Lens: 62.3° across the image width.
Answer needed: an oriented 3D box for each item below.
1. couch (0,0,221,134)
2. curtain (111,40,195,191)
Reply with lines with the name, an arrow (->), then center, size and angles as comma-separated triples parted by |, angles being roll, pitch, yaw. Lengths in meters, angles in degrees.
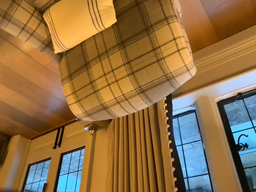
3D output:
couch -> -0.210, -0.490, 1.120 | 0.880, 0.910, 0.860 | -24, 136, 28
curtain -> 0.180, 0.540, 1.620 | 0.510, 2.310, 0.320 | -21, 138, 27
